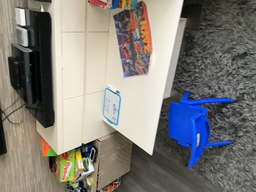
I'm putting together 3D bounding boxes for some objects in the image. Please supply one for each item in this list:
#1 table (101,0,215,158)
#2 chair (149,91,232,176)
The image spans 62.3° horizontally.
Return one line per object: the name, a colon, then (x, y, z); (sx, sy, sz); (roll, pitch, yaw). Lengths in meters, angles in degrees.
table: (0.160, -0.240, 1.500); (0.530, 0.380, 1.160); (28, 121, 38)
chair: (0.410, 0.200, 1.370); (0.350, 0.400, 0.360); (9, 108, 45)
